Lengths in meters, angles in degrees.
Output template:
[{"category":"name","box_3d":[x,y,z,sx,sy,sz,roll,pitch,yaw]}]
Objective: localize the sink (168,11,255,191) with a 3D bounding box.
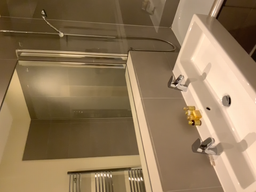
[{"category":"sink","box_3d":[0.510,-0.010,1.200,0.480,0.170,1.030,101,164,-45]}]
